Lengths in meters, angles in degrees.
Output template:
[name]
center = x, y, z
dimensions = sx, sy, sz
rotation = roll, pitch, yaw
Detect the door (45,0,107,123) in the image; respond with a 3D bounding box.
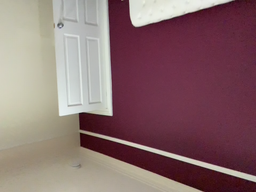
[door]
center = -0.690, -0.710, 2.910
dimensions = 0.790, 2.050, 0.120
rotation = -7, -173, -44
